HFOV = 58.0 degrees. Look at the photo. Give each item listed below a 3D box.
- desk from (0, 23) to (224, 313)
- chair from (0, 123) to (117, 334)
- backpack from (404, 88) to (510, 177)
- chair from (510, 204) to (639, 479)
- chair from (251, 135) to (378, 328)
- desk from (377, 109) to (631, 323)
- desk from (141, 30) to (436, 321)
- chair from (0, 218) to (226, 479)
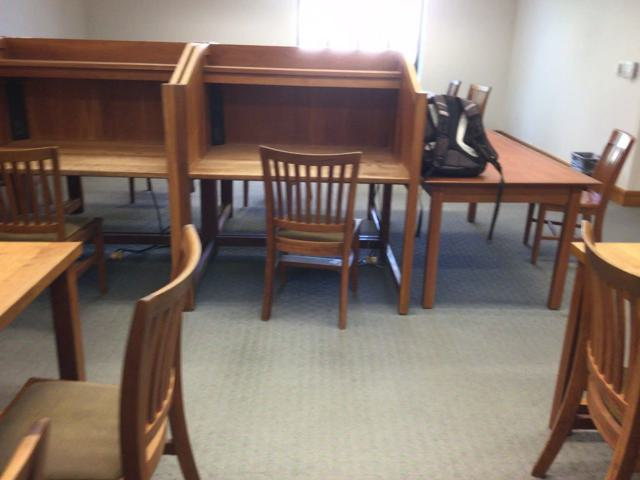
[{"bbox_3d":[-1.330,-0.450,3.260,1.390,1.420,0.980,1,19,-2],"label":"desk"},{"bbox_3d":[-1.470,-0.080,2.920,0.610,0.920,0.600,1,19,-1],"label":"chair"},{"bbox_3d":[0.690,-0.570,3.010,0.410,0.390,0.420,1,19,-2],"label":"backpack"},{"bbox_3d":[0.980,0.420,1.650,0.570,0.910,0.590,1,19,-2],"label":"chair"},{"bbox_3d":[-0.040,-0.060,3.020,0.580,0.890,0.520,1,19,-2],"label":"chair"},{"bbox_3d":[0.970,-0.290,3.750,1.140,0.880,1.750,3,19,4],"label":"desk"},{"bbox_3d":[-0.160,-0.410,3.240,1.290,1.400,1.010,1,19,-2],"label":"desk"},{"bbox_3d":[-0.600,0.460,1.490,0.610,0.910,0.540,1,19,-1],"label":"chair"}]
